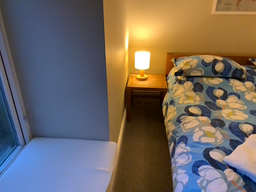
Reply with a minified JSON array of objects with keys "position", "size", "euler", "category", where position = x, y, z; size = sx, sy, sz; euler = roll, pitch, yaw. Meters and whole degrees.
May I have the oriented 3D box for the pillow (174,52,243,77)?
[{"position":[0.850,-0.350,2.310],"size":[0.620,0.150,0.330],"euler":[3,28,2],"category":"pillow"}]
